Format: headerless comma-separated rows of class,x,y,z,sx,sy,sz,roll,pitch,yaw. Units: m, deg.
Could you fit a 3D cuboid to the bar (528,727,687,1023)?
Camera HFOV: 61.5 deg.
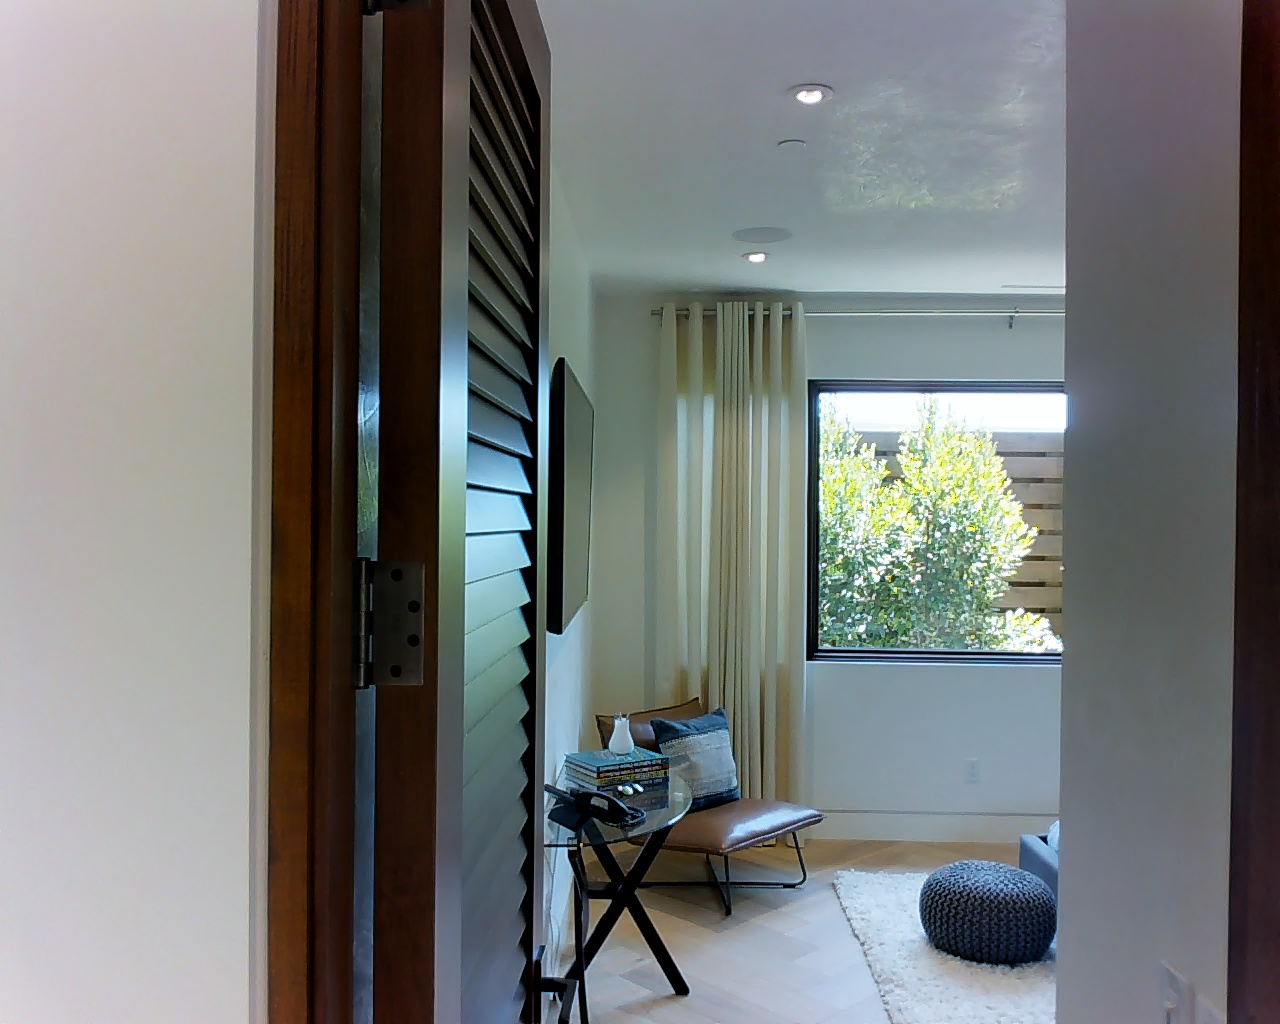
bar,-0.080,1.240,3.690,0.460,0.780,1.090,1,0,2

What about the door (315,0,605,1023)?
door,-0.170,0.380,1.360,0.150,2.310,0.950,1,0,3

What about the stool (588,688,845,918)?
stool,0.350,1.260,4.890,0.820,0.730,0.820,1,0,44
